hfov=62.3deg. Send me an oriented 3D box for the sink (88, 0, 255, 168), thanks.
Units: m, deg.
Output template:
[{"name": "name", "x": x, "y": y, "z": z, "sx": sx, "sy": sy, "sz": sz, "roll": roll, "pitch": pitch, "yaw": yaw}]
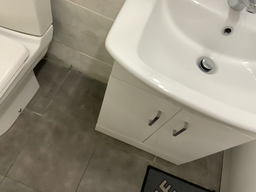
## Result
[{"name": "sink", "x": 0.240, "y": -0.100, "z": 0.600, "sx": 0.560, "sy": 0.190, "sz": 0.430, "roll": 22, "pitch": 61, "yaw": -2}]
